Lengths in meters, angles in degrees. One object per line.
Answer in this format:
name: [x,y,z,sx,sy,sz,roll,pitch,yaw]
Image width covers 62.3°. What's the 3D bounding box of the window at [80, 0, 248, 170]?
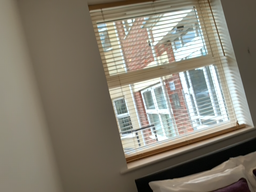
window: [0.350,-0.190,1.870,1.230,1.310,0.070,-14,-1,-12]
